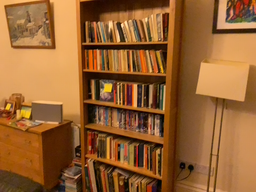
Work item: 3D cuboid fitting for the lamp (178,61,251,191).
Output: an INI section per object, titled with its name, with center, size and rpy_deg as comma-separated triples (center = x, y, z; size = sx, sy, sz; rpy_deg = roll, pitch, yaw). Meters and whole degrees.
[lamp]
center = 0.660, 0.440, 1.710
size = 0.410, 1.420, 0.210
rpy_deg = 7, 11, 26
